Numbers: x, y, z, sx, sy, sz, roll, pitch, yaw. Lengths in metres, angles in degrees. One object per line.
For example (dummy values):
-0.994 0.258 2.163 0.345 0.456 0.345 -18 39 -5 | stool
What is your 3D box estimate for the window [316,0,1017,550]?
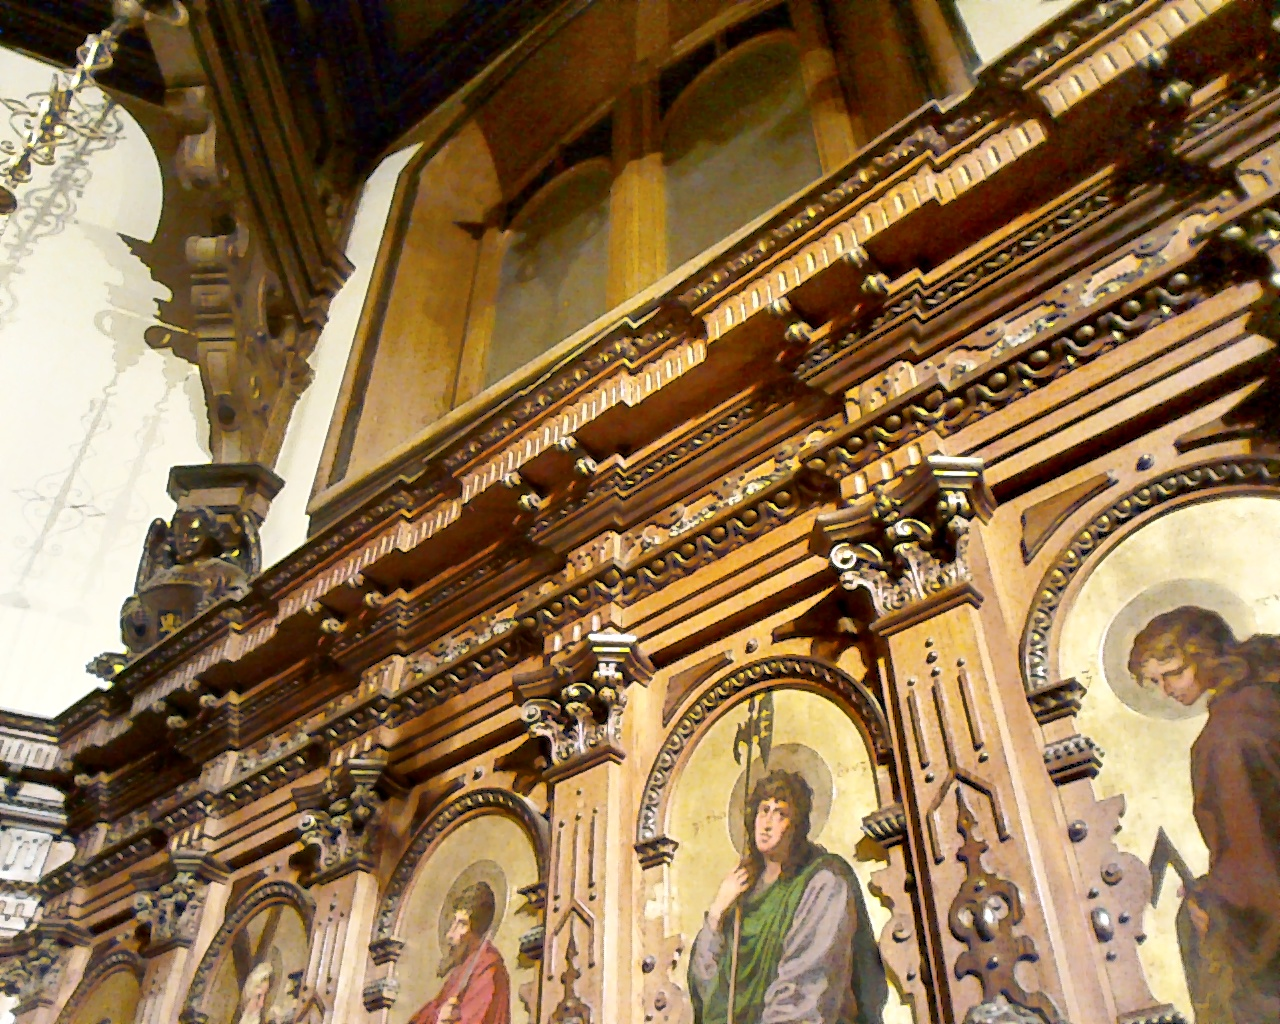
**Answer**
-0.070 -1.030 2.730 1.680 1.830 0.220 -32 -50 31 | window
